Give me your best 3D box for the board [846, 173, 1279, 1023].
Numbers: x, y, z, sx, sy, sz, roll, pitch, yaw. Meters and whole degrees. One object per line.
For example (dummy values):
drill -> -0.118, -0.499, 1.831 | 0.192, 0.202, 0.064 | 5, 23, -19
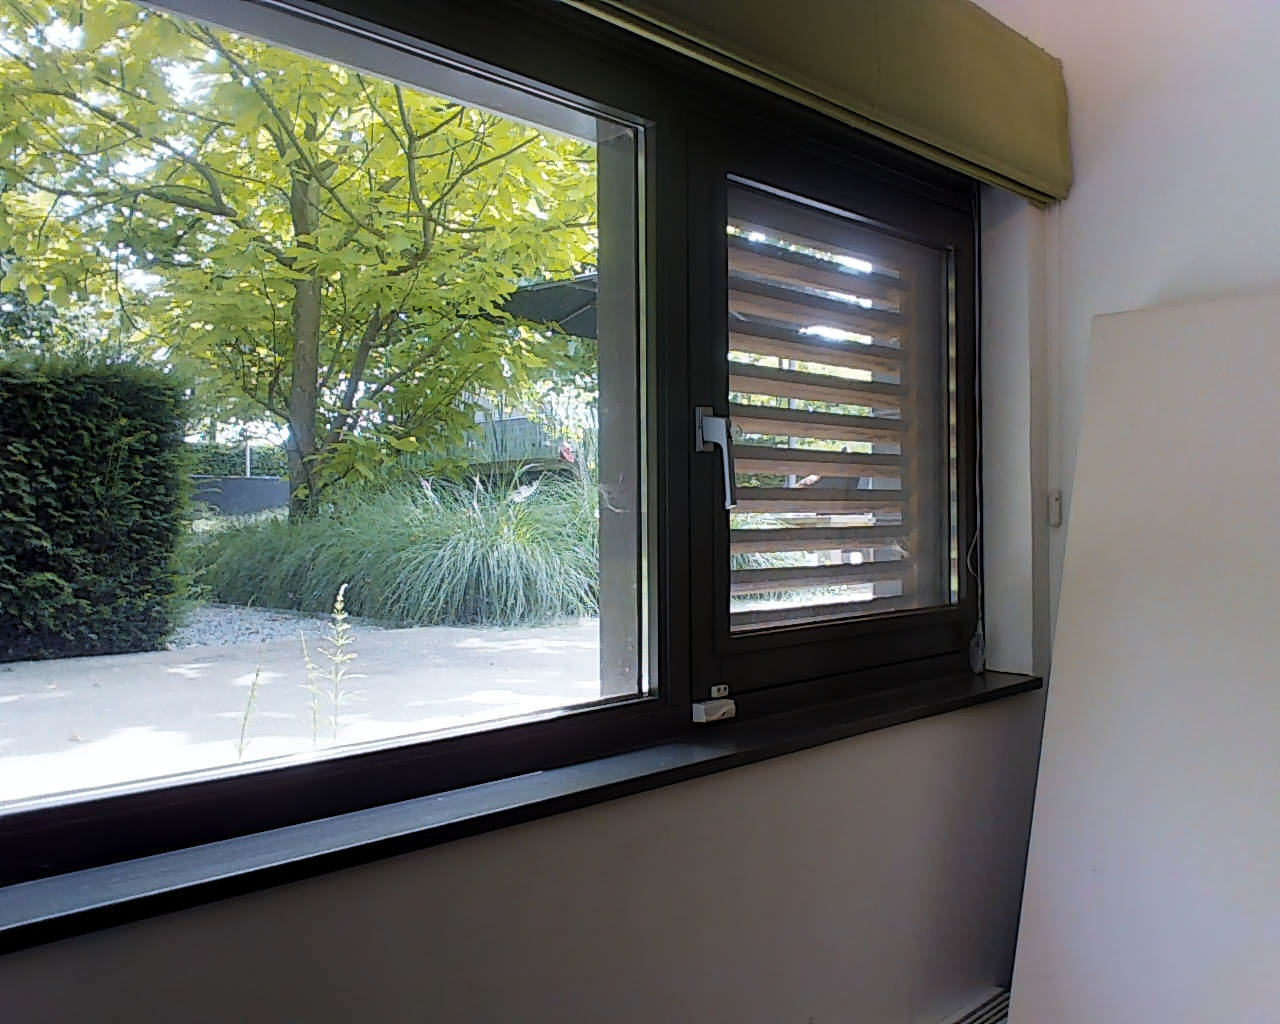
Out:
board -> 1.040, 0.470, 1.570 | 0.650, 1.790, 1.300 | 0, -1, -44
